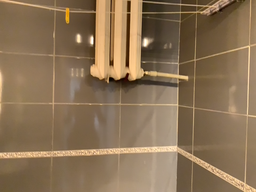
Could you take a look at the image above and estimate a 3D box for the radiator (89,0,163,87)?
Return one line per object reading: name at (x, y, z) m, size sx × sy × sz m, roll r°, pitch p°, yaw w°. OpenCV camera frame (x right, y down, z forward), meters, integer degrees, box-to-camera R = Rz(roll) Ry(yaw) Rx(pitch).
radiator at (-0.020, -0.380, 1.090) m, size 0.340 × 0.650 × 0.190 m, roll 2°, pitch 0°, yaw -11°
